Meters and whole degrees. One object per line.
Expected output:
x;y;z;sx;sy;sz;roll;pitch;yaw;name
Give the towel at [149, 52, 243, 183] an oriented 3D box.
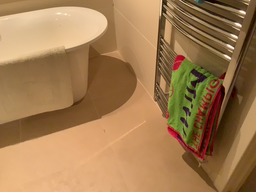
0.290;0.120;1.100;0.160;0.540;0.400;-20;45;-18;towel
